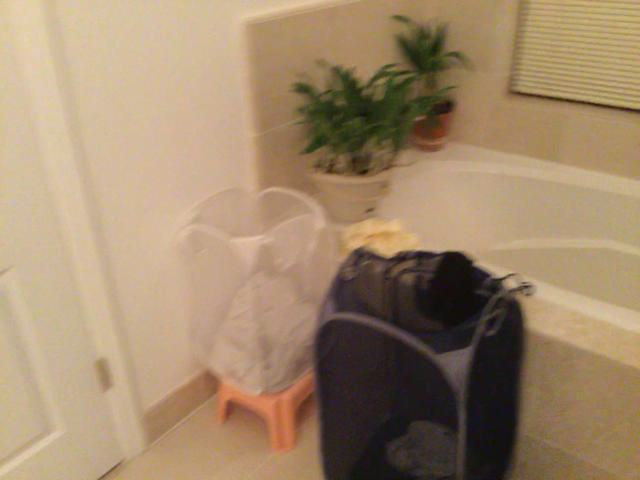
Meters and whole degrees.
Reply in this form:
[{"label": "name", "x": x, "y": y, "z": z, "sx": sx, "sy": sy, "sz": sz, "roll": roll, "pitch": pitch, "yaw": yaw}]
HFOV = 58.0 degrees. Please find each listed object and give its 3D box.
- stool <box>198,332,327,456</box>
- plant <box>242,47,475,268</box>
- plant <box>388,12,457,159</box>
[{"label": "stool", "x": -0.180, "y": 0.470, "z": 1.810, "sx": 0.340, "sy": 0.180, "sz": 0.200, "roll": 18, "pitch": 36, "yaw": 36}, {"label": "plant", "x": 0.130, "y": -0.280, "z": 1.720, "sx": 0.460, "sy": 0.460, "sz": 0.470, "roll": 18, "pitch": 36, "yaw": 36}, {"label": "plant", "x": 0.400, "y": -0.600, "z": 2.240, "sx": 0.160, "sy": 0.500, "sz": 0.220, "roll": 18, "pitch": 36, "yaw": 36}]
